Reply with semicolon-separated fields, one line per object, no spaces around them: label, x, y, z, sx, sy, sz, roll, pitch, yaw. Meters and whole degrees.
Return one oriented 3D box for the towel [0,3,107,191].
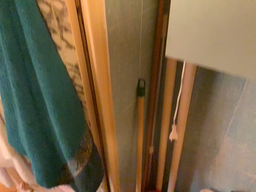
towel;-0.300;0.150;0.690;0.380;0.820;0.140;10;40;14
